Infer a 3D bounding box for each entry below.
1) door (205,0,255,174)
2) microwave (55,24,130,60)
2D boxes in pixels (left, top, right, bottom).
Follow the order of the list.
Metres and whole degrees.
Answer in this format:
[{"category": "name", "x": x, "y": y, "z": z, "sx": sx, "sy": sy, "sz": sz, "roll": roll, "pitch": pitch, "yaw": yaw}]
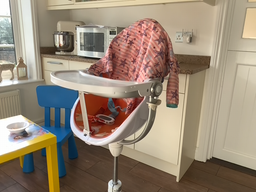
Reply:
[{"category": "door", "x": 1.090, "y": -0.340, "z": 1.600, "sx": 0.720, "sy": 2.060, "sz": 0.050, "roll": 11, "pitch": 18, "yaw": 30}, {"category": "microwave", "x": -0.320, "y": -0.500, "z": 1.940, "sx": 0.520, "sy": 0.270, "sz": 0.410, "roll": 11, "pitch": 18, "yaw": 30}]
